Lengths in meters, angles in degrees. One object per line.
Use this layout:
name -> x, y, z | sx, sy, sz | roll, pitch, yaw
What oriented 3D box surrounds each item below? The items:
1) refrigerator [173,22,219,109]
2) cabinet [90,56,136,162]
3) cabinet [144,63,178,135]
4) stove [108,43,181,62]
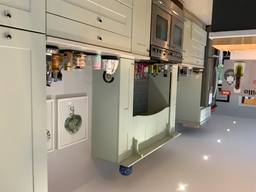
refrigerator -> 1.650, -0.700, 5.130 | 0.750, 1.840, 0.890 | 5, -173, 32
cabinet -> -0.190, 0.130, 2.600 | 0.430, 1.190, 0.310 | 5, -173, 32
cabinet -> 0.600, 0.030, 3.840 | 0.460, 1.220, 0.320 | 5, -173, 32
stove -> 0.290, -0.600, 3.080 | 0.630, 0.160, 1.080 | 5, -173, 32
